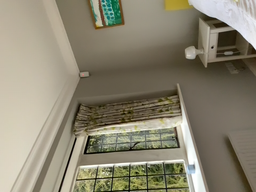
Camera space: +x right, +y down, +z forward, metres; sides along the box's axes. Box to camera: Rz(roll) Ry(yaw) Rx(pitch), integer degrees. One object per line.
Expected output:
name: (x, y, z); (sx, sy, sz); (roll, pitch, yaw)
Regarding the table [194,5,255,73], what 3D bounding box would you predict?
table: (1.170, -0.650, 2.420); (0.490, 0.690, 0.530); (-86, -12, -53)
